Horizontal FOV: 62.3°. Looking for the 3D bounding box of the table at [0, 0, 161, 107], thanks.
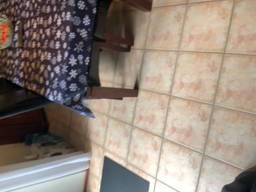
[{"bbox_3d":[-0.630,-0.570,2.120,1.600,0.760,0.920,19,103,42],"label":"table"}]
